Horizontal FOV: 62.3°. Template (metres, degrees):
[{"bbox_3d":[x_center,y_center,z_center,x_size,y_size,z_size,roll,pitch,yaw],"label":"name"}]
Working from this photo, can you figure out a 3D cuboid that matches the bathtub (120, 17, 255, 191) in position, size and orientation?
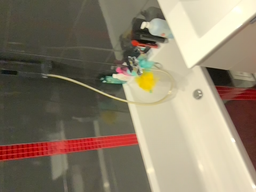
[{"bbox_3d":[0.560,0.440,1.320,0.700,0.570,1.670,-44,54,46],"label":"bathtub"}]
